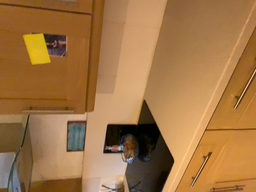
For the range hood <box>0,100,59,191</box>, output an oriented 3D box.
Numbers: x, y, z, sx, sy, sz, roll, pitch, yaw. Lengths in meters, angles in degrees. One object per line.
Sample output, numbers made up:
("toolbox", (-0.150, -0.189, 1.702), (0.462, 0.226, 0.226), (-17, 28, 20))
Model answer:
("range hood", (-0.790, 0.360, 1.300), (0.310, 0.680, 0.610), (-110, 26, -52))
